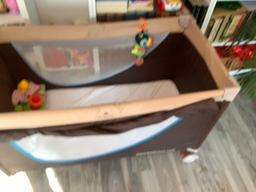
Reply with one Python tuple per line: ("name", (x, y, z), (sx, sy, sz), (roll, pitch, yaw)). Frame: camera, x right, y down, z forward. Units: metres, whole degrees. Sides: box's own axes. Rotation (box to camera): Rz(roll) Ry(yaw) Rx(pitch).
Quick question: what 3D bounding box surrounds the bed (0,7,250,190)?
("bed", (-0.200, 0.010, 1.390), (1.330, 0.810, 0.760), (-4, 52, -8))
